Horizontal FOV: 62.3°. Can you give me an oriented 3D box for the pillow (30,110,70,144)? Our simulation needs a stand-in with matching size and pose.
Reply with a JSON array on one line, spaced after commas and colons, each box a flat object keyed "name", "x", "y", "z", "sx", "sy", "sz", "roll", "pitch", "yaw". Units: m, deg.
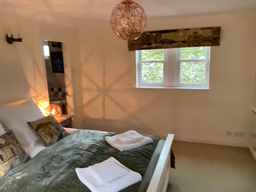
[{"name": "pillow", "x": -0.980, "y": 0.380, "z": 2.700, "sx": 0.130, "sy": 0.330, "sz": 0.350, "roll": -45, "pitch": -6, "yaw": 19}]

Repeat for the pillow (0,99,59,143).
[{"name": "pillow", "x": -1.240, "y": 0.290, "z": 2.740, "sx": 0.350, "sy": 0.380, "sz": 0.620, "roll": 2, "pitch": 11, "yaw": 17}]

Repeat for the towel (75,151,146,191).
[{"name": "towel", "x": -0.160, "y": 0.630, "z": 1.800, "sx": 0.420, "sy": 0.060, "sz": 0.470, "roll": -9, "pitch": 13, "yaw": -34}]
